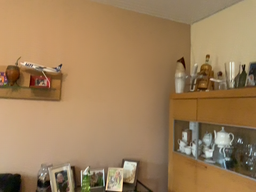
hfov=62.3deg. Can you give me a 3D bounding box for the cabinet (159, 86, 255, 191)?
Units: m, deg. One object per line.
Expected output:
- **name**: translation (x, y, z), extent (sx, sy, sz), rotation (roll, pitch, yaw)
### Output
- **cabinet**: translation (0.820, 0.780, 1.910), extent (0.500, 1.640, 1.190), rotation (3, -3, -24)

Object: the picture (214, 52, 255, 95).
- **picture**: translation (1.050, -0.170, 1.750), extent (0.330, 0.290, 0.540), rotation (3, -3, -24)
